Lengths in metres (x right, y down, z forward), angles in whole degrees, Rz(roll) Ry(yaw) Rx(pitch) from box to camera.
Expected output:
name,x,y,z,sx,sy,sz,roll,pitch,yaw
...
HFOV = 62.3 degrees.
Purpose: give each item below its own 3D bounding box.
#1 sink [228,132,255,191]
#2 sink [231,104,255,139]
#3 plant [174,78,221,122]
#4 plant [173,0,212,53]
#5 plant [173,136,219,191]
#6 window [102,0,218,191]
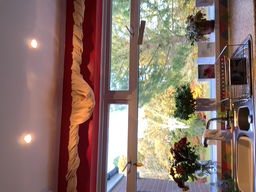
name,x,y,z,sx,sy,sz,roll,pitch,yaw
sink,0.790,0.490,1.350,0.530,0.160,0.470,25,-114,-76
sink,0.770,0.160,1.350,0.390,0.120,0.190,25,-114,-76
plant,0.590,0.040,1.850,0.270,0.360,0.350,16,-105,-77
plant,0.570,-0.610,1.910,0.230,0.320,0.370,11,-100,-77
plant,0.570,0.570,1.840,0.310,0.350,0.390,23,-112,-76
window,0.300,0.000,2.130,0.080,1.100,2.480,18,-108,-77
